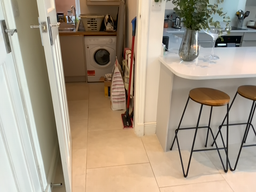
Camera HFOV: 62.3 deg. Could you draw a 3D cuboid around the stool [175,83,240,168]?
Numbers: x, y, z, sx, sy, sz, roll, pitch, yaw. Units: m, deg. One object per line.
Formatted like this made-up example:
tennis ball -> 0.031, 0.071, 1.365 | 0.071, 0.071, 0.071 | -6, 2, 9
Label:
stool -> 0.700, 0.270, 1.970 | 0.340, 0.710, 0.310 | -3, 26, -9
